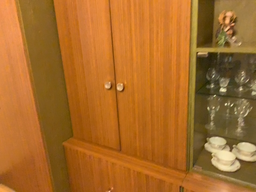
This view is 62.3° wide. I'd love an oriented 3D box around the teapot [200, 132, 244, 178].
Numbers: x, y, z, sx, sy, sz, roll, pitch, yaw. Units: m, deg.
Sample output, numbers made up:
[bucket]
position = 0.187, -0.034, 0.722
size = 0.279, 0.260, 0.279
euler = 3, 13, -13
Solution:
[teapot]
position = 0.560, 0.330, 1.250
size = 0.180, 0.080, 0.300
euler = 9, 21, 31
